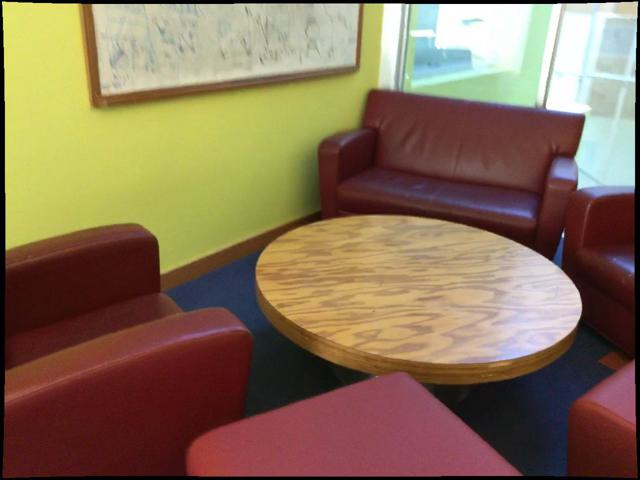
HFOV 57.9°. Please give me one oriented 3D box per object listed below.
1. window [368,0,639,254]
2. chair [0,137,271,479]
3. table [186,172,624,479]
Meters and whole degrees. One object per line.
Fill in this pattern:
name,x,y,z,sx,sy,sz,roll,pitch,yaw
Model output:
window,1.419,-1.171,3.340,2.088,2.322,0.160,17,31,20
chair,-0.739,0.290,1.620,0.889,0.821,0.860,-13,33,-29
table,0.350,0.250,2.290,1.199,0.420,1.210,24,34,32
